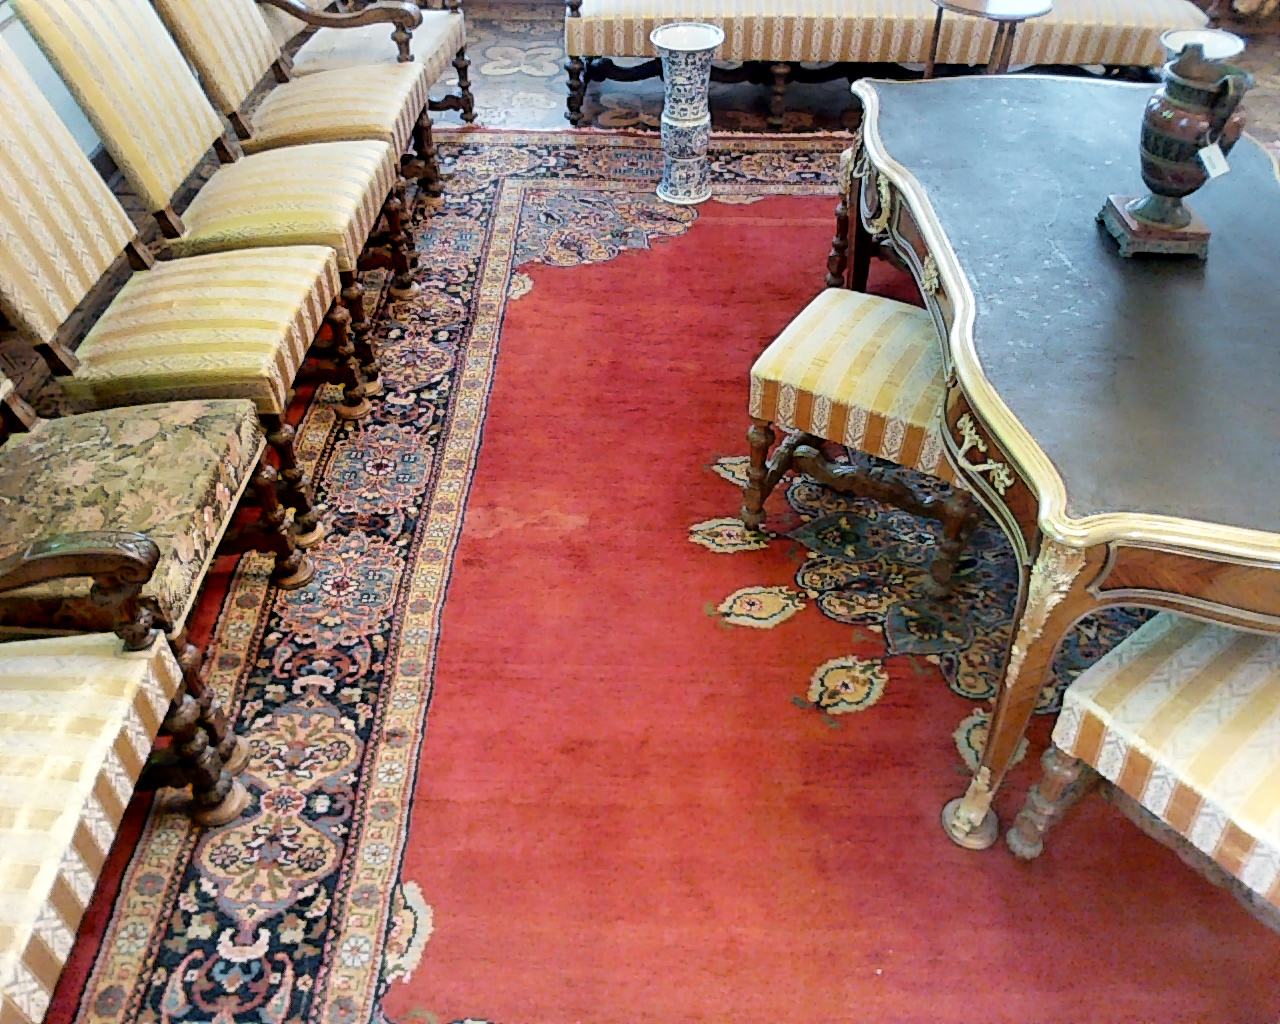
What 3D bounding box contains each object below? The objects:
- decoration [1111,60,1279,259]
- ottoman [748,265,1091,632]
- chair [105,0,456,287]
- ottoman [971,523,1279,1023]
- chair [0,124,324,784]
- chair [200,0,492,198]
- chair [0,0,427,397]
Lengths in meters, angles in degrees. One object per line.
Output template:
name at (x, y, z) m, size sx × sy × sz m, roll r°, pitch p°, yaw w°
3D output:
decoration at (1.020, -0.640, 1.960) m, size 0.180 × 0.300 × 0.170 m, roll 1°, pitch 41°, yaw 1°
ottoman at (0.620, -0.160, 2.460) m, size 0.550 × 0.520 × 0.480 m, roll 22°, pitch 46°, yaw 23°
chair at (-1.050, -1.320, 3.330) m, size 0.760 × 1.030 × 0.630 m, roll 1°, pitch 41°, yaw 1°
ottoman at (0.980, 0.450, 1.770) m, size 0.460 × 0.490 × 0.590 m, roll -25°, pitch 47°, yaw -26°
chair at (-1.110, -0.070, 1.930) m, size 0.750 × 1.040 × 0.580 m, roll 1°, pitch 41°, yaw 1°
chair at (-1.030, -1.800, 3.810) m, size 0.780 × 1.110 × 0.630 m, roll 6°, pitch 42°, yaw 6°
chair at (-1.080, -0.910, 2.880) m, size 0.790 × 1.020 × 0.600 m, roll 1°, pitch 41°, yaw 1°
